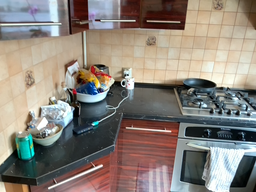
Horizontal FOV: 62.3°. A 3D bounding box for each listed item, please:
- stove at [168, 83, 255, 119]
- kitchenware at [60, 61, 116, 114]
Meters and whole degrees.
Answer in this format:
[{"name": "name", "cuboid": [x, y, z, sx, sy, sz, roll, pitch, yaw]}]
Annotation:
[{"name": "stove", "cuboid": [0.640, 0.020, 1.620, 0.610, 0.020, 0.560, 4, 22, 4]}, {"name": "kitchenware", "cuboid": [-0.290, -0.090, 1.690, 0.290, 0.250, 0.490, 5, 22, 6]}]
